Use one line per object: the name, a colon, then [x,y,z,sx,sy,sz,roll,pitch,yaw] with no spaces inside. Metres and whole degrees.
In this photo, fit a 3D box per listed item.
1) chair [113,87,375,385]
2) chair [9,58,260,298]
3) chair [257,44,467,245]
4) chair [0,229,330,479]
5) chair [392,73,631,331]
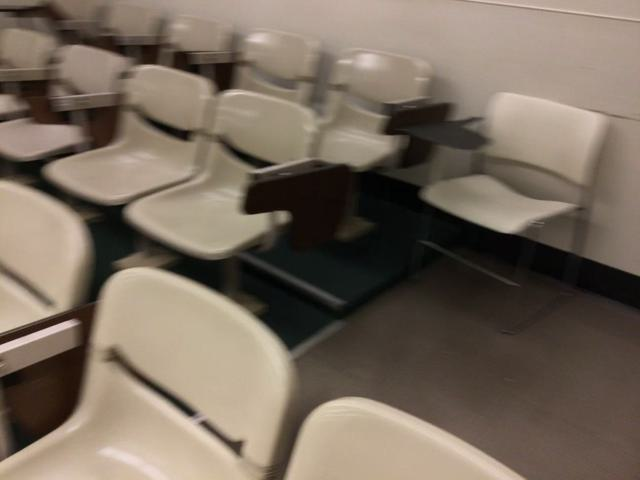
chair: [-0.270,-0.080,1.960,0.590,0.780,0.580,21,25,37]
chair: [-0.700,-0.290,2.200,0.690,0.690,0.590,21,25,37]
chair: [0.170,-0.440,2.470,0.560,0.680,0.620,21,25,37]
chair: [-0.420,0.460,1.020,0.610,0.740,0.530,21,25,37]
chair: [0.700,-0.190,2.170,0.540,0.780,0.550,21,25,37]
